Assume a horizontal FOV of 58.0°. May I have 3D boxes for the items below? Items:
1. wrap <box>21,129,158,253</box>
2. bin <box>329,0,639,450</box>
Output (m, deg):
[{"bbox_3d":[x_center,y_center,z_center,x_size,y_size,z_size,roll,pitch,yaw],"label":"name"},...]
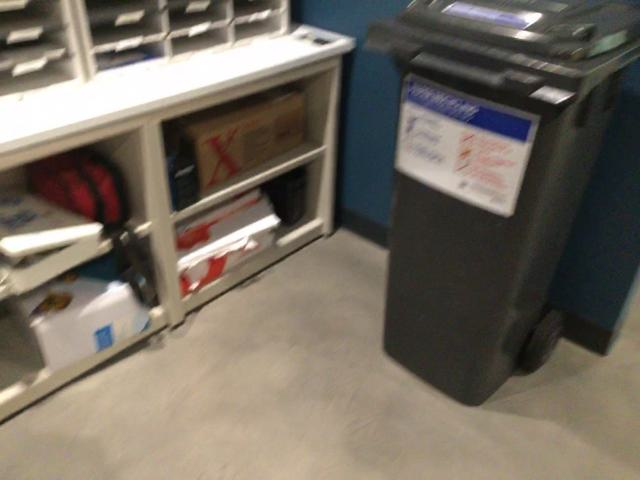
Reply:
[{"bbox_3d":[-0.610,-0.140,1.530,0.350,0.180,0.150,27,41,31],"label":"wrap"},{"bbox_3d":[0.420,-0.100,1.500,0.520,1.030,0.540,27,41,31],"label":"bin"}]
